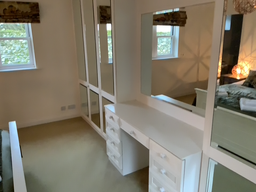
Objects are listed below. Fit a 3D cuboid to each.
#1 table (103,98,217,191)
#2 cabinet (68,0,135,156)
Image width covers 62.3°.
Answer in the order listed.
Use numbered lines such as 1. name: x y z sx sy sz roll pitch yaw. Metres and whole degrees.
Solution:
1. table: 0.220 0.580 2.270 0.450 0.760 1.280 -10 18 -29
2. cabinet: -0.480 -0.550 3.330 0.300 2.360 1.720 -10 18 -29
